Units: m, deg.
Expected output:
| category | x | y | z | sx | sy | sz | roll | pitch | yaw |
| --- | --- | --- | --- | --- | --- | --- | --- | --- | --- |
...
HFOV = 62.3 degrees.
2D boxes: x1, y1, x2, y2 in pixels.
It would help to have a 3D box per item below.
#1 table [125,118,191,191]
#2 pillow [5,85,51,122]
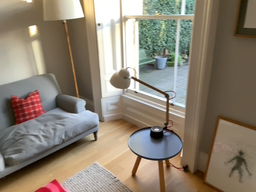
| category | x | y | z | sx | sy | sz | roll | pitch | yaw |
| --- | --- | --- | --- | --- | --- | --- | --- | --- | --- |
| table | 0.290 | 0.550 | 2.060 | 0.440 | 0.410 | 0.450 | 15 | 28 | 35 |
| pillow | -1.240 | 0.090 | 2.640 | 0.420 | 0.310 | 0.150 | -25 | 1 | -37 |
